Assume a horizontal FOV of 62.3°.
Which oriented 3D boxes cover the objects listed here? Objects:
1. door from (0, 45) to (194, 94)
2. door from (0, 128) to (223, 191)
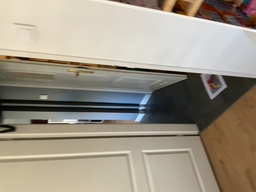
[{"bbox_3d":[-0.490,-0.240,2.390,0.820,2.330,0.150,153,118,-67],"label":"door"},{"bbox_3d":[-0.190,0.660,1.580,0.110,2.040,0.860,120,147,-51],"label":"door"}]
